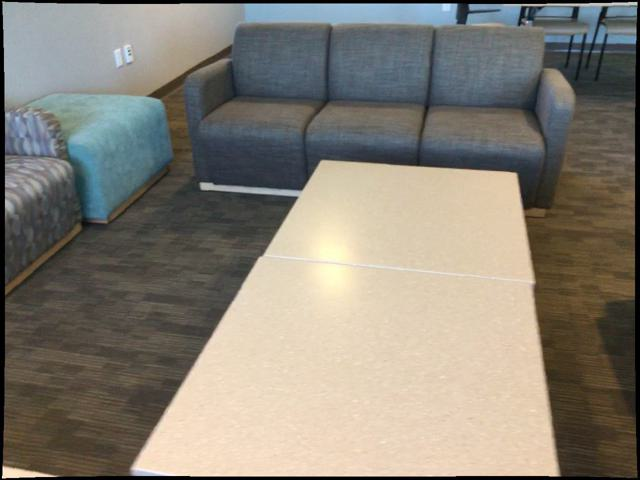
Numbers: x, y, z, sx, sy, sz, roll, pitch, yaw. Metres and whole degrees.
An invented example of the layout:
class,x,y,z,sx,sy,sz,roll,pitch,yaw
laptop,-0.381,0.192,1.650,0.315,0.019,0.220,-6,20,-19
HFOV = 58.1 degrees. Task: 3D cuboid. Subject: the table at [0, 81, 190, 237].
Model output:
class,x,y,z,sx,sy,sz,roll,pitch,yaw
table,-1.337,-0.491,3.160,0.868,0.481,0.920,5,31,11
